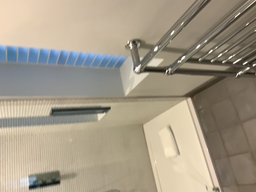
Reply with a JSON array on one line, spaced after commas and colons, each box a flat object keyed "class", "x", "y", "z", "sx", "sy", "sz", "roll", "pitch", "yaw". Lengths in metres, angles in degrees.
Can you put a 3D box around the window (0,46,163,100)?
[{"class": "window", "x": -0.540, "y": -0.090, "z": 1.100, "sx": 0.500, "sy": 1.430, "sz": 0.040, "roll": -41, "pitch": 56, "yaw": 55}]
